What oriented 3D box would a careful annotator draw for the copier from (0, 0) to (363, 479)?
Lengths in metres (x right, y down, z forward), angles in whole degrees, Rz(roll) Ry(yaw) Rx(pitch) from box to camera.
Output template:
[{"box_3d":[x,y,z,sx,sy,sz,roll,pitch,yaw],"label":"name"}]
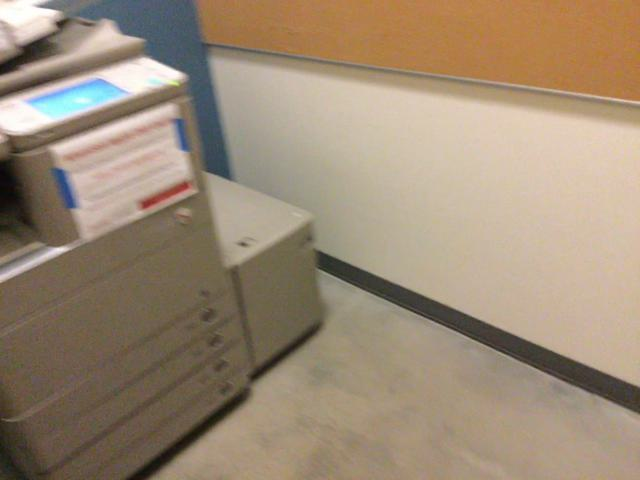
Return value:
[{"box_3d":[-0.570,-0.030,1.570,0.670,1.210,1.120,18,38,42],"label":"copier"}]
